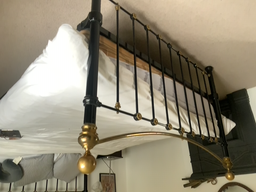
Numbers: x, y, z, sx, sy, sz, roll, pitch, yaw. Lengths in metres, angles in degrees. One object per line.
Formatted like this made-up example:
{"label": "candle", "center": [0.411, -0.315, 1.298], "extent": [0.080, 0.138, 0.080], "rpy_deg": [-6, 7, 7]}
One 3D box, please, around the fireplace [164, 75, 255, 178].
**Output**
{"label": "fireplace", "center": [1.190, 0.480, 2.760], "extent": [1.280, 1.000, 0.460], "rpy_deg": [-24, 148, 39]}
